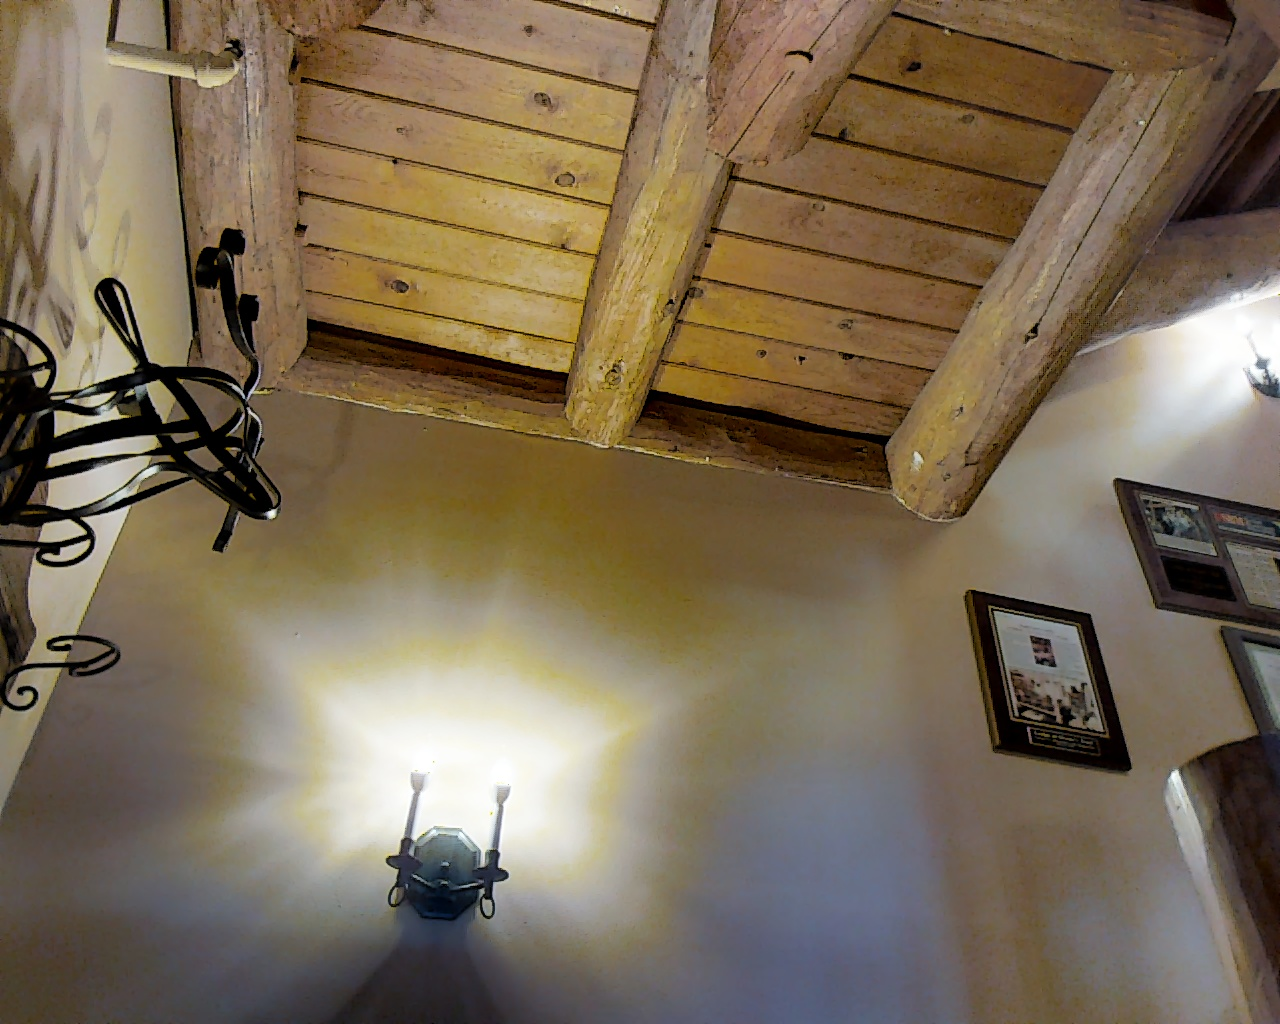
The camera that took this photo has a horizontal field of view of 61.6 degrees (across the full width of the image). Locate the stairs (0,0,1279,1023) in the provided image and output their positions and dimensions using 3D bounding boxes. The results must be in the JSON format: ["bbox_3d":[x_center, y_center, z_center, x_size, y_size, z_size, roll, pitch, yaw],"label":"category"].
[{"bbox_3d":[1.179,-1.091,1.750,3.768,3.031,3.281,10,-42,-9],"label":"stairs"}]

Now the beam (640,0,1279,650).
[{"bbox_3d":[1.539,-0.800,2.760,2.819,1.830,1.310,10,-42,-9],"label":"beam"}]
